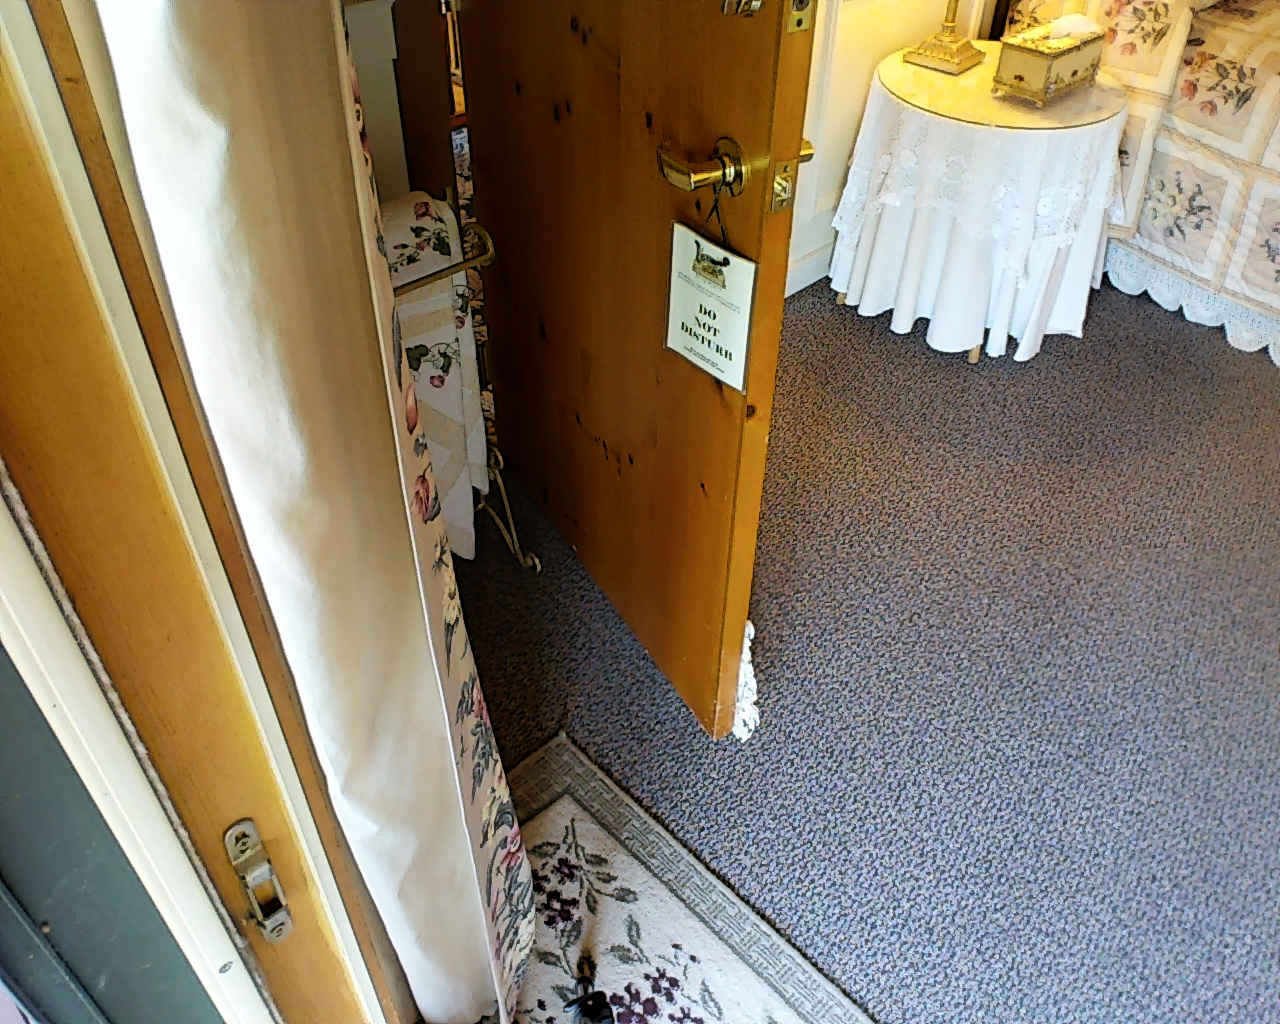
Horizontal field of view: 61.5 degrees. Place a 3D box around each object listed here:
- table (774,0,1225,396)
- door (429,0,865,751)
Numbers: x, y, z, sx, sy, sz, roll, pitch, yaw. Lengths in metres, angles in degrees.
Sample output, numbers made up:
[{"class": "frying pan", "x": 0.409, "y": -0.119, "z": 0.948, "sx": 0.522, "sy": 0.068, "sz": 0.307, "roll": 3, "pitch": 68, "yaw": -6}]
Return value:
[{"class": "table", "x": 0.890, "y": -0.850, "z": 2.800, "sx": 0.750, "sy": 0.600, "sz": 0.700, "roll": -31, "pitch": 51, "yaw": -29}, {"class": "door", "x": -0.070, "y": -0.650, "z": 1.500, "sx": 0.110, "sy": 2.040, "sz": 1.000, "roll": -21, "pitch": 47, "yaw": -21}]
